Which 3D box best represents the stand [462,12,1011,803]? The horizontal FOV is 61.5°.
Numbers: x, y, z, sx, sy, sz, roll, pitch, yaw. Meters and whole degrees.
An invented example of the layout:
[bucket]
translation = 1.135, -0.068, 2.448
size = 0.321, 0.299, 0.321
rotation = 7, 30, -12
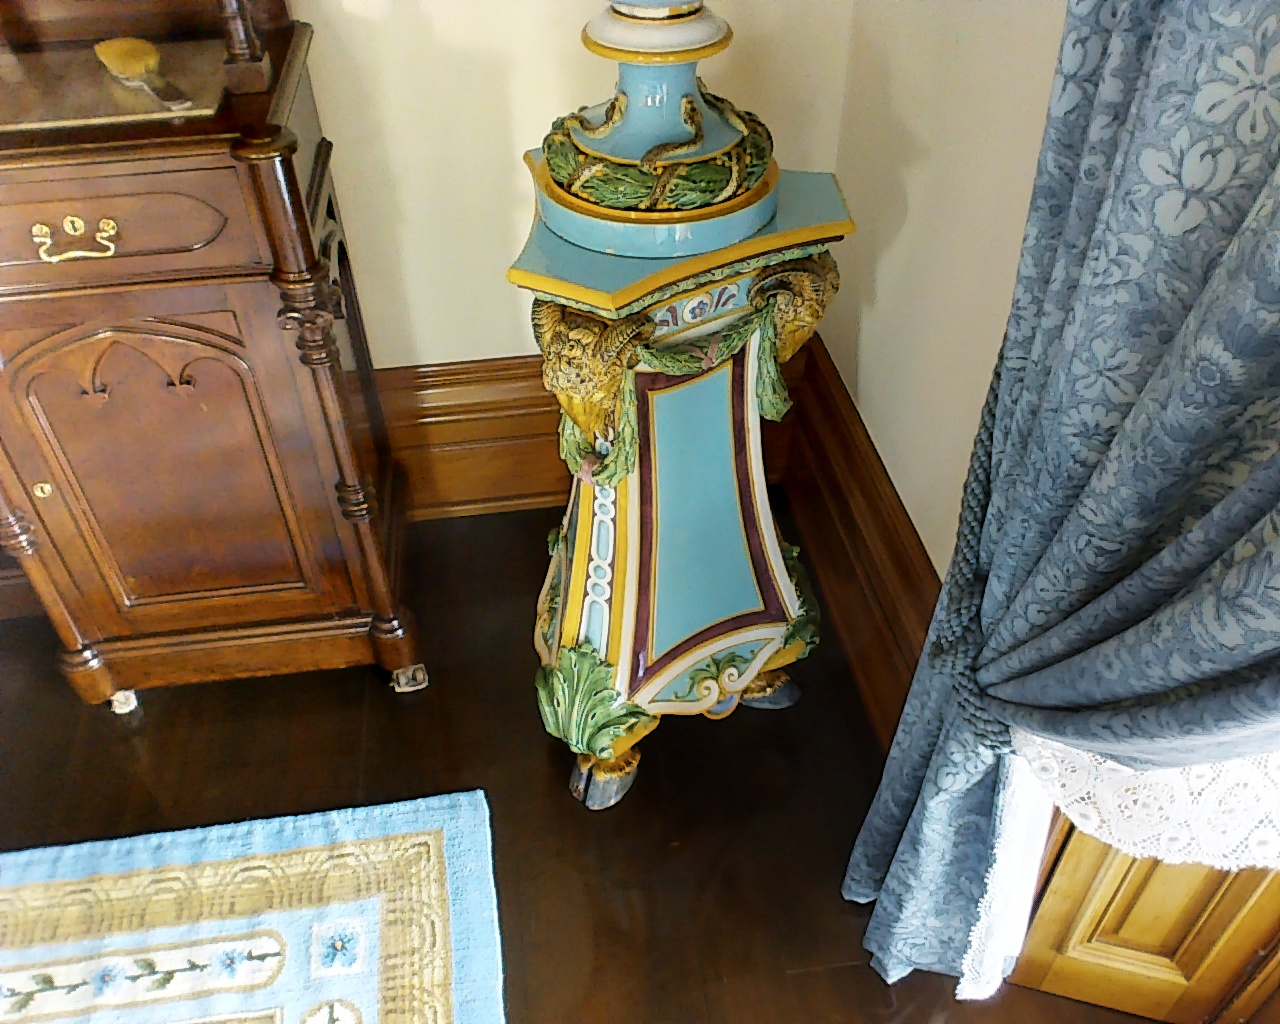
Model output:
[stand]
translation = 0.070, -0.170, 1.760
size = 0.590, 0.950, 0.800
rotation = -6, 43, -5
